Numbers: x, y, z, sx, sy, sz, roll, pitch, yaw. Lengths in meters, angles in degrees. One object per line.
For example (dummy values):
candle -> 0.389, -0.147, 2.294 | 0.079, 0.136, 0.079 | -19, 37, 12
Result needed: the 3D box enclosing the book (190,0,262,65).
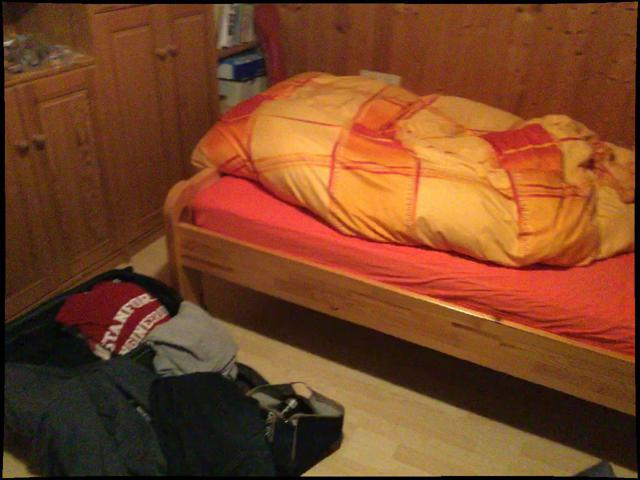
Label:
book -> -0.470, -1.111, 2.950 | 0.170, 0.330, 0.370 | 16, 34, 21
